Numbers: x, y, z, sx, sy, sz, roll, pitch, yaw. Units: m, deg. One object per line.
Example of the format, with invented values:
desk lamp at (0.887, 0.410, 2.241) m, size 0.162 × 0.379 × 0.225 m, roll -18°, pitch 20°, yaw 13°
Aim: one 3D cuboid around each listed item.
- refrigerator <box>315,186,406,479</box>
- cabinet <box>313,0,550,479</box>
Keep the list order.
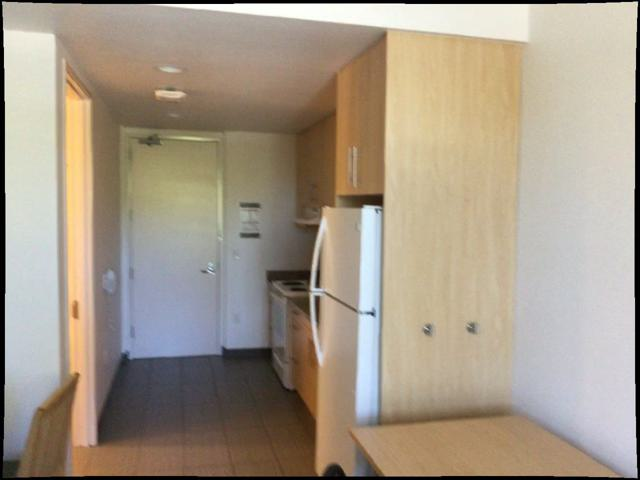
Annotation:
refrigerator at (0.170, 0.581, 2.870) m, size 0.220 × 1.682 × 0.740 m, roll 0°, pitch 6°, yaw -12°
cabinet at (0.470, 0.150, 3.040) m, size 0.789 × 2.452 × 1.070 m, roll 0°, pitch 6°, yaw -12°
